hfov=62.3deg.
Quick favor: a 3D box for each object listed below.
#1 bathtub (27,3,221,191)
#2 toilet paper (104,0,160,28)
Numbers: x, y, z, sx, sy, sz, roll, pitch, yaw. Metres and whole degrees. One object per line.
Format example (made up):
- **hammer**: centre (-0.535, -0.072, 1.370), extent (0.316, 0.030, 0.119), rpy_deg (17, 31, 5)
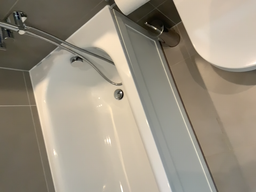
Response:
- **bathtub**: centre (0.040, 0.460, 1.200), extent (0.690, 0.560, 1.630), rpy_deg (-26, 75, 30)
- **toilet paper**: centre (0.020, -0.420, 0.960), extent (0.150, 0.210, 0.090), rpy_deg (-27, 75, 29)
